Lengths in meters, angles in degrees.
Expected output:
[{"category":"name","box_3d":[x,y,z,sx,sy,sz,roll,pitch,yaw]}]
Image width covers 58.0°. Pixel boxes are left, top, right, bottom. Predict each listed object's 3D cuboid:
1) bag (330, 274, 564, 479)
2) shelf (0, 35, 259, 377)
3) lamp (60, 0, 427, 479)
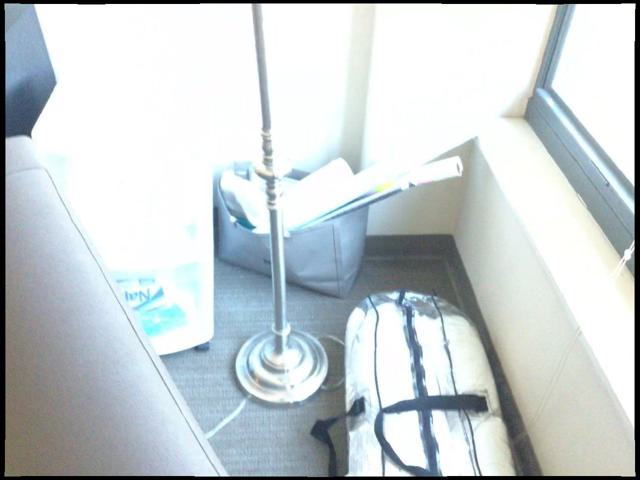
[{"category":"bag","box_3d":[0.279,0.531,1.290,0.419,0.230,1.031,-2,42,-4]},{"category":"shelf","box_3d":[-0.549,-0.100,1.620,0.649,0.681,0.631,3,42,1]},{"category":"lamp","box_3d":[-0.070,-0.190,1.080,0.359,1.572,0.721,3,42,1]}]
